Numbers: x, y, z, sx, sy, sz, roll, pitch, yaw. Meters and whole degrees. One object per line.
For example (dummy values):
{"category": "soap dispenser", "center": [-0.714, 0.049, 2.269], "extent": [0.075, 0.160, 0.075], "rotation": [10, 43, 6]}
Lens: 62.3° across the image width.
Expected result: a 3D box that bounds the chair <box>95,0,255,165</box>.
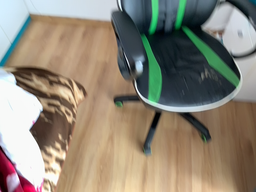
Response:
{"category": "chair", "center": [0.260, -0.320, 1.060], "extent": [0.730, 1.220, 0.830], "rotation": [-12, 58, -8]}
